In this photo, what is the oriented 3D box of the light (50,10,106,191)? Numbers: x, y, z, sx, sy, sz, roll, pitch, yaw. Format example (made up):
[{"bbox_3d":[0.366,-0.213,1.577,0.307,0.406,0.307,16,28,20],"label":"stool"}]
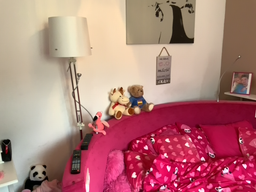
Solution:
[{"bbox_3d":[-0.380,0.240,1.680,0.240,1.660,0.400,-8,15,-28],"label":"light"}]
